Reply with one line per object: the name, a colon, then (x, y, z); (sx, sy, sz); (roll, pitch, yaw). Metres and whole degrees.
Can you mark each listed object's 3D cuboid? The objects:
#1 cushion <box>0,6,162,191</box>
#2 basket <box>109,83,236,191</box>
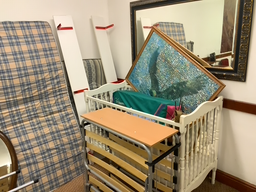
cushion: (-0.620, -0.020, 2.380); (2.040, 1.690, 0.750); (-14, 21, -36)
basket: (0.410, 0.460, 2.350); (0.700, 0.940, 1.120); (-14, 21, -36)
